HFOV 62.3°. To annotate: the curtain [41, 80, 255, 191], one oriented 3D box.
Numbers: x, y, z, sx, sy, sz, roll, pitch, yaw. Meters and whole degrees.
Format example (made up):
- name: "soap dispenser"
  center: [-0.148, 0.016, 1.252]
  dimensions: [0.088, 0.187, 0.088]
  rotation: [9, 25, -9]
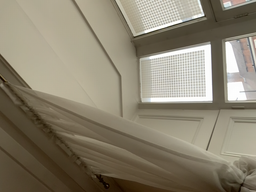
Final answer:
- name: "curtain"
  center: [0.230, 0.290, 1.140]
  dimensions: [0.370, 1.630, 0.580]
  rotation: [-52, -56, -36]
